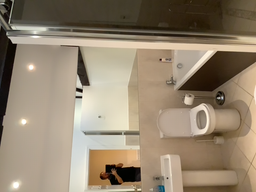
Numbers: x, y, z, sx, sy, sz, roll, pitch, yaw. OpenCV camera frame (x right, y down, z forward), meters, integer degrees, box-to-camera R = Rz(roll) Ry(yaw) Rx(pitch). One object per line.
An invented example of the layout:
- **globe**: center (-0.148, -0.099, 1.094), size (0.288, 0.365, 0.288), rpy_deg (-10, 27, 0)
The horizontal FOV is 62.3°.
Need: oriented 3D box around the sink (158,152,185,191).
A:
- **sink**: center (0.500, 0.940, 2.500), size (0.420, 0.170, 0.530), rpy_deg (113, 158, -72)
